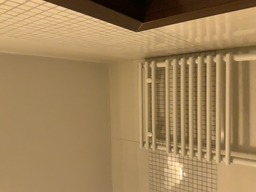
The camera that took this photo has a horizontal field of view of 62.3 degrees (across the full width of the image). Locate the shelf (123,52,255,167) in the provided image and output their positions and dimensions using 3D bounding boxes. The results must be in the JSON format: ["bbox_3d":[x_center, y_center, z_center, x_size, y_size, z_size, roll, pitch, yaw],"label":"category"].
[{"bbox_3d":[0.510,0.050,0.970,0.170,1.170,0.470,-11,-81,-54],"label":"shelf"}]
